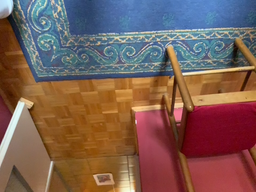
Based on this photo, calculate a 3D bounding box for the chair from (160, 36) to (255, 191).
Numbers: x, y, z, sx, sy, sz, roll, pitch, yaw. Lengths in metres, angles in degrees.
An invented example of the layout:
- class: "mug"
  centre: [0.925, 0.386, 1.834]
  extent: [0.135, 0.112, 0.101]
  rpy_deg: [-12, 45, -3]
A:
- class: "chair"
  centre: [0.470, 0.160, 1.110]
  extent: [0.460, 0.840, 0.530]
  rpy_deg: [-4, 136, 1]
